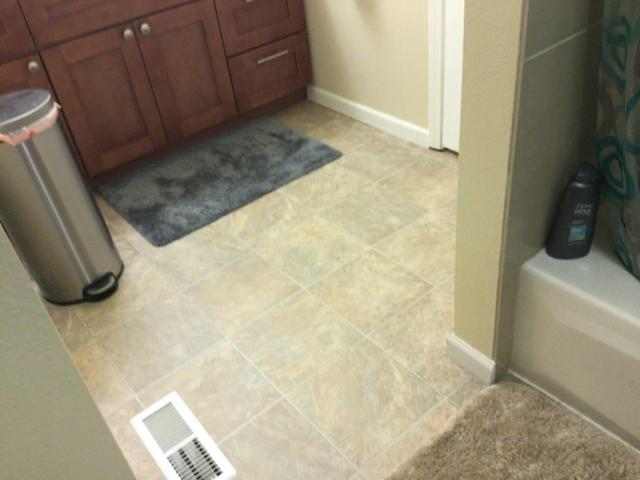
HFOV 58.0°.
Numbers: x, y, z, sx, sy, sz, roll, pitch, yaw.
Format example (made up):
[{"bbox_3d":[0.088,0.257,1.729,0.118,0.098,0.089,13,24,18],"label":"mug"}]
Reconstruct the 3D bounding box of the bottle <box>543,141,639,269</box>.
[{"bbox_3d":[0.610,-0.080,1.310,0.190,0.220,0.080,-29,41,-26],"label":"bottle"}]

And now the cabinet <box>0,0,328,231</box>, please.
[{"bbox_3d":[-0.690,-0.720,2.400,1.680,0.780,0.100,-29,41,-26],"label":"cabinet"}]

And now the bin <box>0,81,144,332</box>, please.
[{"bbox_3d":[-0.900,-0.110,1.890,0.340,0.660,0.350,-30,41,-26],"label":"bin"}]
